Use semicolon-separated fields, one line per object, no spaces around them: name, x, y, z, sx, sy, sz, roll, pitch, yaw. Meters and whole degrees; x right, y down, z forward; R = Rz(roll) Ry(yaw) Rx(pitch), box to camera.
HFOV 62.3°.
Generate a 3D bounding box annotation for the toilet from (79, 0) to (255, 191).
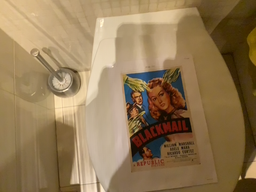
toilet;0.100;0.060;0.680;0.390;0.440;0.520;-5;78;0
